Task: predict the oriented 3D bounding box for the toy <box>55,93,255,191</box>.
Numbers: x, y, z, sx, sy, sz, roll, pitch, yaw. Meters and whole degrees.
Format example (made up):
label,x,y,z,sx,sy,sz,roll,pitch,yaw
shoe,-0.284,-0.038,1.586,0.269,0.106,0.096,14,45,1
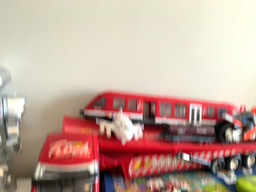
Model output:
label,x,y,z,sx,sy,sz,roll,pitch,yaw
toy,0.130,0.110,0.430,0.490,0.170,0.340,1,10,-13
